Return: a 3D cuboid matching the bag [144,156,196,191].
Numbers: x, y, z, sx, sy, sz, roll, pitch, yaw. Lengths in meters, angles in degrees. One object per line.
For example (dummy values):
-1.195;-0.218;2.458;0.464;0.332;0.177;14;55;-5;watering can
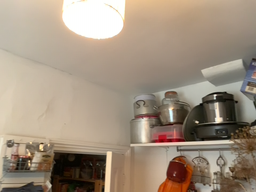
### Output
0.360;0.870;1.810;0.370;0.680;0.240;-13;-22;38;bag
